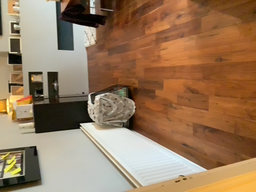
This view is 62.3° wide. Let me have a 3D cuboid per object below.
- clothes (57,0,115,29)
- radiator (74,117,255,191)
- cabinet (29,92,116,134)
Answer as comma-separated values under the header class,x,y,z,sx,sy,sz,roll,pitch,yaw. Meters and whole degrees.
class,x,y,z,sx,sy,sz,roll,pitch,yaw
clothes,-0.700,-1.330,3.460,0.710,0.770,0.260,-165,74,-63
radiator,0.030,0.560,2.280,2.330,0.730,0.160,-166,75,-63
cabinet,-1.010,0.220,3.710,1.100,1.270,0.460,-166,75,-63
